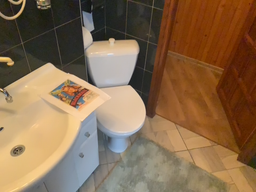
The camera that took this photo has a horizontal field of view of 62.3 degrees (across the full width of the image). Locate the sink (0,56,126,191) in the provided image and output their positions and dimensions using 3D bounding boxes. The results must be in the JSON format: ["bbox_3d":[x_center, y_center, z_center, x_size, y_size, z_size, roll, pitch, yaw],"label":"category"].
[{"bbox_3d":[-0.470,0.190,0.890,0.520,0.200,0.870,26,47,21],"label":"sink"}]

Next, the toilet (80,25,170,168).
[{"bbox_3d":[-0.080,0.010,1.580,0.430,0.830,0.620,-6,44,-12],"label":"toilet"}]
